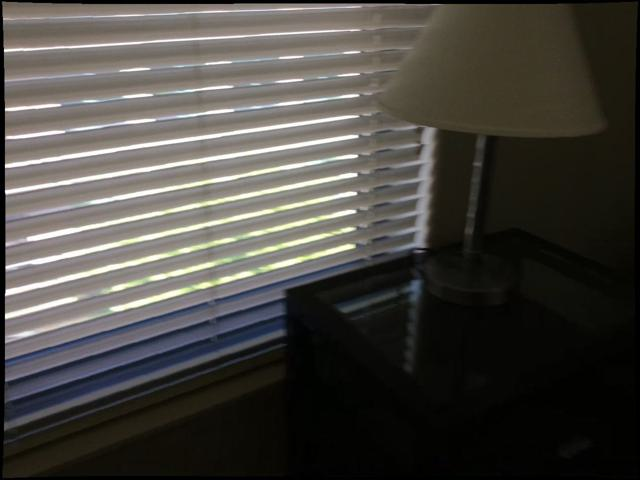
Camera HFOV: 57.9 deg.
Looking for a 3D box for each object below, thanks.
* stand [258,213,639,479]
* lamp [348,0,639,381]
[{"bbox_3d":[0.320,0.460,1.310,0.719,0.791,0.520,-14,28,-27],"label":"stand"},{"bbox_3d":[0.300,-0.150,1.060,0.360,0.621,0.360,-14,28,-27],"label":"lamp"}]
